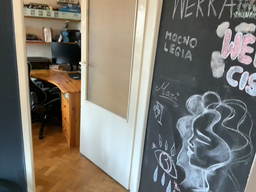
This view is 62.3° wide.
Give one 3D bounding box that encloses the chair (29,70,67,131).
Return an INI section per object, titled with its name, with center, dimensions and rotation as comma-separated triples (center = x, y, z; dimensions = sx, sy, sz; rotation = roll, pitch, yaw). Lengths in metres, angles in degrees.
[chair]
center = -1.170, 0.040, 3.110
dimensions = 0.460, 0.730, 0.510
rotation = -2, 19, -23
